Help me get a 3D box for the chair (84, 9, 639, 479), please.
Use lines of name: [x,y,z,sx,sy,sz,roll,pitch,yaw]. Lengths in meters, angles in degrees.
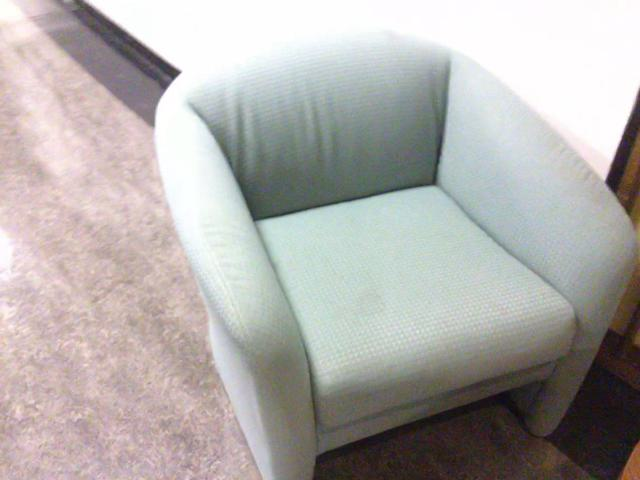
chair: [0.110,0.050,1.400,1.050,0.770,0.940,-13,46,-18]
